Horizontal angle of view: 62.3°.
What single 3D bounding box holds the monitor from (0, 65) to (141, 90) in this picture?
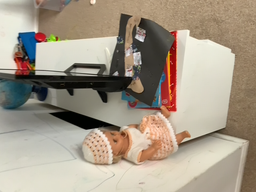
[{"bbox_3d":[-0.370,-0.090,0.940,0.720,0.460,0.060,8,97,42],"label":"monitor"}]
